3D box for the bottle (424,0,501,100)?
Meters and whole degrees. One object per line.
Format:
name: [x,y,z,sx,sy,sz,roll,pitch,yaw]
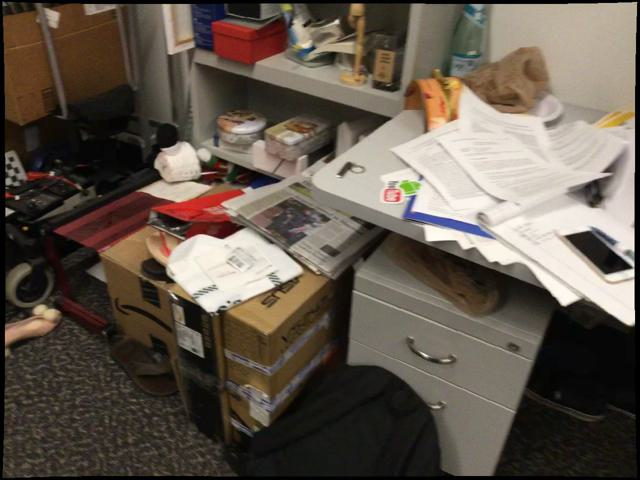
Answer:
bottle: [0.370,-0.531,1.470,0.100,0.280,0.180,22,40,25]
